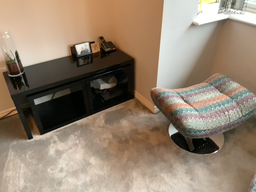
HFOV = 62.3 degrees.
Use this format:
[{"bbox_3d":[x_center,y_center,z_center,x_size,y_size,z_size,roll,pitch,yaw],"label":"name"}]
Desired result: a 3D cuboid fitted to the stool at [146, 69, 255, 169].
[{"bbox_3d":[0.560,0.140,1.650,0.670,0.410,0.480,-14,38,-18],"label":"stool"}]
